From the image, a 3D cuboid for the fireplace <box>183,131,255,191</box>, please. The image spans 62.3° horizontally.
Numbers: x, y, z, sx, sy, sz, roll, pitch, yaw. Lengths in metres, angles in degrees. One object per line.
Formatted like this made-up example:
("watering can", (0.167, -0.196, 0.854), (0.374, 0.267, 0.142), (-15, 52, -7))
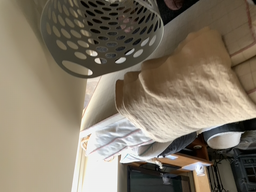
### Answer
("fireplace", (1.770, 1.280, 2.710), (1.820, 1.540, 0.600), (-3, 144, 5))
